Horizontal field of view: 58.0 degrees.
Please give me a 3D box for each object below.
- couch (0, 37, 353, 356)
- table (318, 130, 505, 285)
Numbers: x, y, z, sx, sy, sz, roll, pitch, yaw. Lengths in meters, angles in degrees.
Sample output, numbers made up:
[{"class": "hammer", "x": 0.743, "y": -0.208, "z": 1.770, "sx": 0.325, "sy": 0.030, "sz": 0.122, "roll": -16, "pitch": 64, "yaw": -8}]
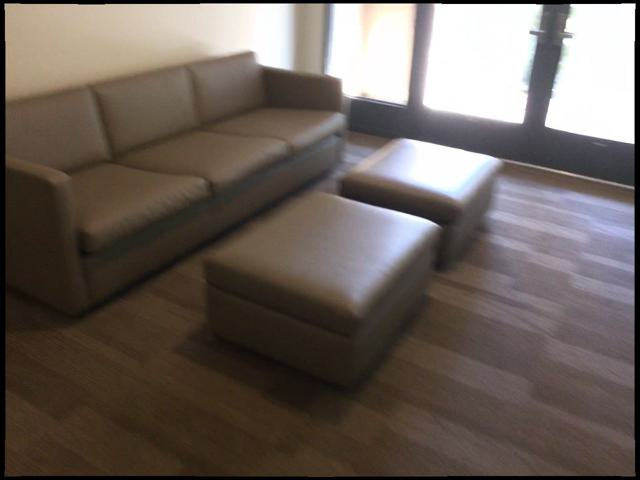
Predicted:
[{"class": "couch", "x": -0.798, "y": -0.481, "z": 3.030, "sx": 0.999, "sy": 0.711, "sz": 2.270, "roll": 18, "pitch": 32, "yaw": 23}, {"class": "table", "x": 0.499, "y": -0.220, "z": 3.050, "sx": 0.689, "sy": 0.391, "sz": 0.820, "roll": 18, "pitch": 32, "yaw": 23}]
